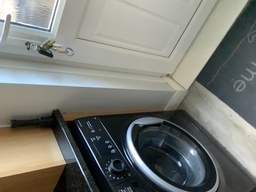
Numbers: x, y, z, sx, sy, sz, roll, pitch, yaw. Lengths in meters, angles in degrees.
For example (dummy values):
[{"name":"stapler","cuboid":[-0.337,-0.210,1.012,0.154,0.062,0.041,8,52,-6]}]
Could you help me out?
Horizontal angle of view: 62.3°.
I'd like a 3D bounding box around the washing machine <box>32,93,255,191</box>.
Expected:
[{"name":"washing machine","cuboid":[0.070,0.450,1.140,0.660,0.830,0.640,51,125,35]}]
